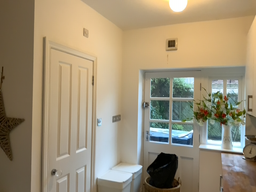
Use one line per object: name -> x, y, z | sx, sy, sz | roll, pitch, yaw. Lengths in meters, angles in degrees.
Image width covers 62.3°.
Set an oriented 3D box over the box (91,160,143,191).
box -> -0.120, 1.260, 2.850 | 0.390, 0.540, 0.780 | 1, 0, 23
